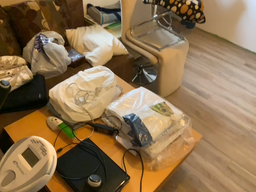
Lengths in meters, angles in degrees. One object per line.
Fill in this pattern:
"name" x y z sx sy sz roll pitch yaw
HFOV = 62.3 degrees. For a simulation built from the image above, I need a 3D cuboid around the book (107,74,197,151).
"book" 0.160 0.080 1.440 0.420 0.120 0.420 36 51 27
